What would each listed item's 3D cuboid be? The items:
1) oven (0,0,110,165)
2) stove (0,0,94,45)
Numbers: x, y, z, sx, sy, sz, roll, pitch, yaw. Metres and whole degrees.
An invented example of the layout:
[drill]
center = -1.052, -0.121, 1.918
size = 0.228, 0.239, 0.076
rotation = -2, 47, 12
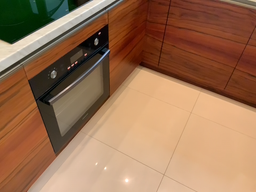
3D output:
[oven]
center = -0.520, -0.150, 1.320
size = 0.590, 0.860, 0.590
rotation = 23, 48, 17
[stove]
center = -0.510, -0.480, 1.050
size = 0.520, 0.020, 0.620
rotation = 23, 48, 17
